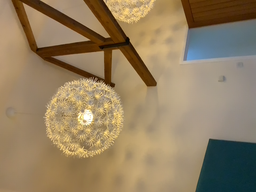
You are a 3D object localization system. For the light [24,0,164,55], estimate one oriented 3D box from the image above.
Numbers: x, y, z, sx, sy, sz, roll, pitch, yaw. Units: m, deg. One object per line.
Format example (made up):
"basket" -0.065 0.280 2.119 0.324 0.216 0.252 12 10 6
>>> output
"light" -0.600 -1.540 3.660 1.090 2.080 1.380 -25 -68 -59
